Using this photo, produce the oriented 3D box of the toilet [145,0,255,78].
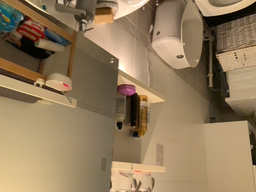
[{"bbox_3d":[0.520,-0.630,1.440,0.650,0.800,0.420,-10,157,36],"label":"toilet"}]
